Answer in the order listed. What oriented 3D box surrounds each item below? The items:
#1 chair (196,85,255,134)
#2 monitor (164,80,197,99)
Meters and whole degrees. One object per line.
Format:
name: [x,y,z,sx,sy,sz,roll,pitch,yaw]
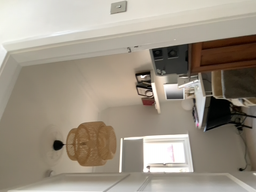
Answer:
chair: [1.480,0.230,3.290,0.550,0.720,0.530,68,-159,-57]
monitor: [0.900,-0.100,3.690,0.520,0.510,0.050,71,-158,-57]
